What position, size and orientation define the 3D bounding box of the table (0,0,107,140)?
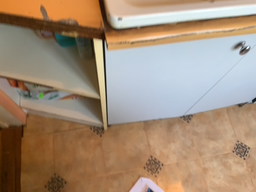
[{"bbox_3d":[-0.360,-0.210,0.880,0.470,0.850,0.540,-7,67,-8],"label":"table"}]
